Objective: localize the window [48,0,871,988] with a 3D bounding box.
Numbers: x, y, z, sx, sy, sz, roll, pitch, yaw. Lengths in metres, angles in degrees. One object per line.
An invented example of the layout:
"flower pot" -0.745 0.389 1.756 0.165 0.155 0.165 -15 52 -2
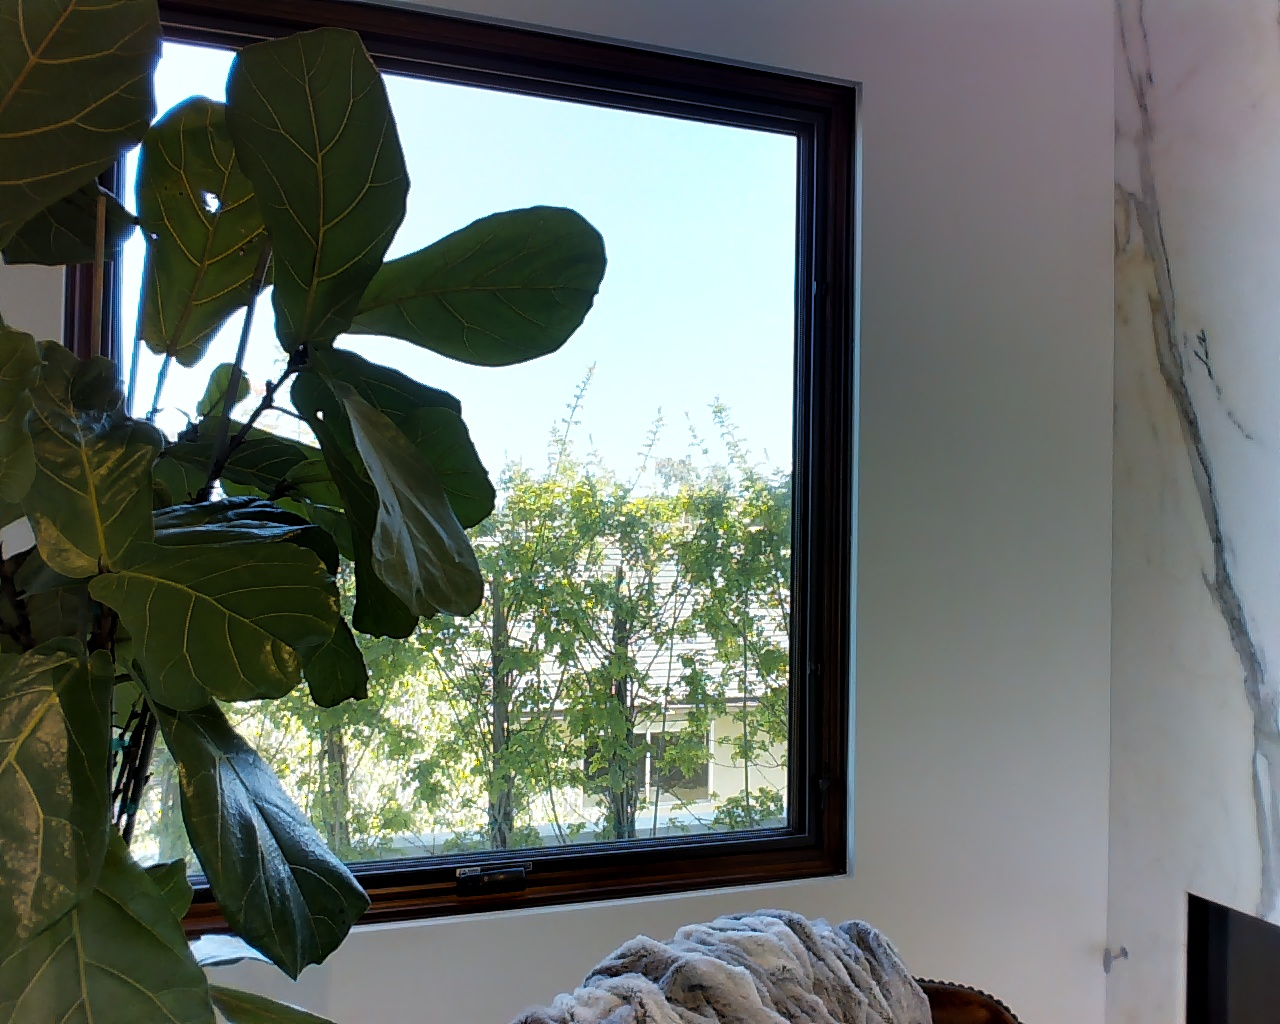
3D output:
"window" -0.230 -0.070 1.840 1.340 1.530 0.130 1 -1 -20
